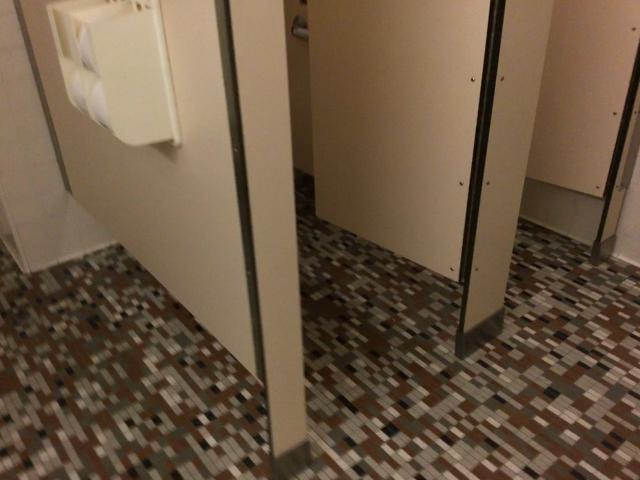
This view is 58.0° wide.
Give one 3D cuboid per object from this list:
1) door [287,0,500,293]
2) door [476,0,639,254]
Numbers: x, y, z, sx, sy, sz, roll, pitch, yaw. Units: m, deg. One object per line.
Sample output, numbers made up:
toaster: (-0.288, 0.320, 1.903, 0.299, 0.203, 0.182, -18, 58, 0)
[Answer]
door: (0.160, -0.550, 1.540, 0.650, 1.360, 0.060, 25, 41, 38)
door: (0.820, -0.660, 1.970, 0.490, 1.450, 0.060, 23, 40, 38)
